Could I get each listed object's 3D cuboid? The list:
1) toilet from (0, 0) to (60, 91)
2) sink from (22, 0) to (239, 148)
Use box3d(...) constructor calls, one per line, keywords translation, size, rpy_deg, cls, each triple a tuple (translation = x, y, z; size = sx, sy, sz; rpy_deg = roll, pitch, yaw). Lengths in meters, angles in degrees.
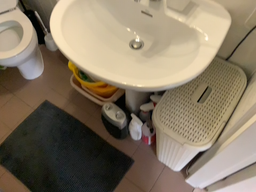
box3d(translation=(-0.850, -0.530, 1.500), size=(0.370, 0.800, 0.570), rpy_deg=(-19, 61, -8), cls="toilet")
box3d(translation=(0.010, -0.190, 0.850), size=(0.630, 0.180, 0.480), rpy_deg=(31, 66, 19), cls="sink")
